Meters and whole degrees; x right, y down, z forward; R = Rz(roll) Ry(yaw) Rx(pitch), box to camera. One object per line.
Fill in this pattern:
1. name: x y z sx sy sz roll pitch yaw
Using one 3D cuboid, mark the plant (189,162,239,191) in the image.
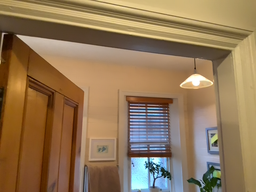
1. plant: 0.910 0.980 2.270 0.250 0.470 0.460 3 -12 -18
